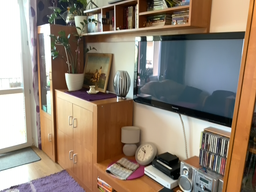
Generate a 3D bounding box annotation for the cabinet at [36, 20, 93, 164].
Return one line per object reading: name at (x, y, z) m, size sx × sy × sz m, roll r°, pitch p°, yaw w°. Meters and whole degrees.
cabinet at (-0.880, -0.060, 2.980) m, size 0.560 × 1.800 × 0.500 m, roll -7°, pitch 15°, yaw -41°

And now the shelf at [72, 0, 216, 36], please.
shelf at (-0.020, -0.790, 2.090) m, size 0.300 × 0.310 × 1.680 m, roll -7°, pitch 15°, yaw -41°

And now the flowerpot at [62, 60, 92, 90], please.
flowerpot at (-0.630, -0.270, 2.600) m, size 0.270 × 0.330 × 0.250 m, roll 13°, pitch 15°, yaw 43°

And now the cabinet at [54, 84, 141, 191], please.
cabinet at (-0.410, 0.450, 2.520) m, size 0.540 × 1.030 × 0.980 m, roll -7°, pitch 15°, yaw -41°
